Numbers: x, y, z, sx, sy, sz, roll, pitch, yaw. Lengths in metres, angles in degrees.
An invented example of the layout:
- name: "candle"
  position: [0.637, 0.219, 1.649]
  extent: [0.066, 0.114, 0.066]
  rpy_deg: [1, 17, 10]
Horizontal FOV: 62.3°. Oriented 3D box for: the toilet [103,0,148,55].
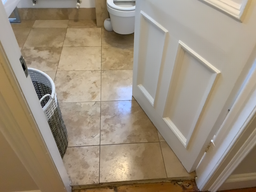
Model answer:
- name: "toilet"
  position: [-0.040, -0.910, 2.070]
  extent: [0.380, 0.830, 0.560]
  rpy_deg: [0, 46, -3]
